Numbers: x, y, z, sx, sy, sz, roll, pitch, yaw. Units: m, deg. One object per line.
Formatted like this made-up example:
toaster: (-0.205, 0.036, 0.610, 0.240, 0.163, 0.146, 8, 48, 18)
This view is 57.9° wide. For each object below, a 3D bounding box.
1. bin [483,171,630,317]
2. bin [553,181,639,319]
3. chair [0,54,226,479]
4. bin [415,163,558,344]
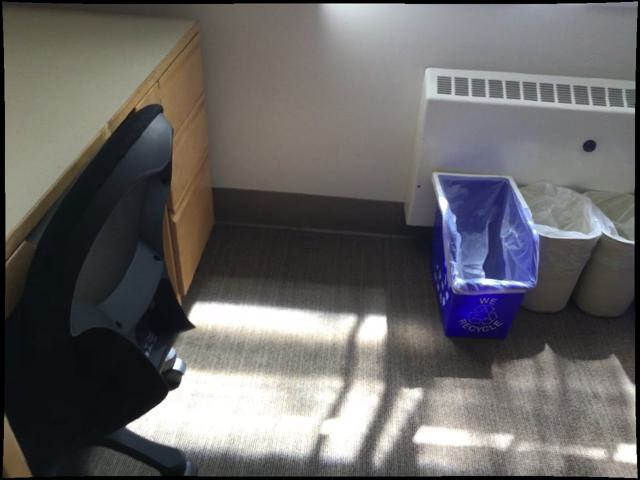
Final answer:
bin: (0.709, 0.010, 1.800, 0.290, 0.320, 0.290, 5, 37, 2)
bin: (0.919, 0.030, 1.810, 0.220, 0.320, 0.270, 5, 37, 2)
chair: (-0.559, 0.150, 1.100, 0.619, 0.831, 0.520, 5, 37, 2)
bin: (0.470, 0.030, 1.750, 0.290, 0.340, 0.420, 5, 37, 2)
